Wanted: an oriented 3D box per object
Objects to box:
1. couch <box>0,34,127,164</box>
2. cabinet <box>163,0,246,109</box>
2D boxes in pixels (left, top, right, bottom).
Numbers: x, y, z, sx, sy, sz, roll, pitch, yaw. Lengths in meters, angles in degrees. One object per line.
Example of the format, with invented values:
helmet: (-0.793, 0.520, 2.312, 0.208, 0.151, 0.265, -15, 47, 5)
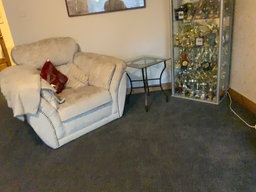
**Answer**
couch: (-0.840, -0.130, 2.460, 1.220, 0.970, 1.000, -24, 28, -39)
cabinet: (0.900, -0.830, 2.670, 0.760, 1.810, 0.620, -6, 22, -2)
